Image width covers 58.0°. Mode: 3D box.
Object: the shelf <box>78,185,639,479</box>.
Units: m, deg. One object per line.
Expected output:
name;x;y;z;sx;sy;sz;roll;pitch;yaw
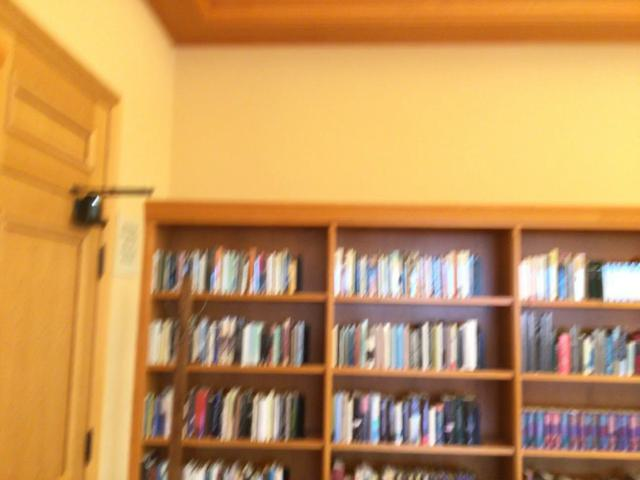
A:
shelf;0.910;0.940;3.040;4.120;2.320;0.620;-2;-9;2
